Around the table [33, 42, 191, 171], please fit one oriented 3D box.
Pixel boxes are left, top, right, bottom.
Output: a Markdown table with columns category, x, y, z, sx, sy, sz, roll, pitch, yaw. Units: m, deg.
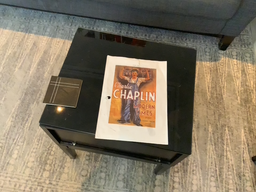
| category | x | y | z | sx | sy | sz | roll | pitch | yaw |
| --- | --- | --- | --- | --- | --- | --- | --- | --- | --- |
| table | -0.040 | 0.090 | 0.910 | 0.450 | 0.480 | 0.340 | 10 | 68 | 2 |
